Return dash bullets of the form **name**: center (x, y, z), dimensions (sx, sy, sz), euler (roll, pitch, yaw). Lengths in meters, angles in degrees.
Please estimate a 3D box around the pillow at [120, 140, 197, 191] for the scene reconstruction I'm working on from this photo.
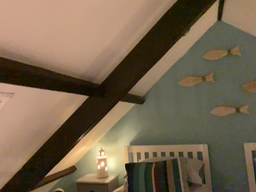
- **pillow**: center (0.260, 0.710, 1.830), dimensions (0.540, 0.360, 0.180), euler (-46, -16, 12)
